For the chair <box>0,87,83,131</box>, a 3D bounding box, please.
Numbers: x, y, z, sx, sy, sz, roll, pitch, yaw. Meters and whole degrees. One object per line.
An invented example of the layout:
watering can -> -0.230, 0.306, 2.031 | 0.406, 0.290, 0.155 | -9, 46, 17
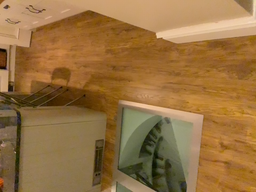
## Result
chair -> -1.100, 0.130, 2.470 | 0.360, 1.050, 0.410 | 11, 97, 47
